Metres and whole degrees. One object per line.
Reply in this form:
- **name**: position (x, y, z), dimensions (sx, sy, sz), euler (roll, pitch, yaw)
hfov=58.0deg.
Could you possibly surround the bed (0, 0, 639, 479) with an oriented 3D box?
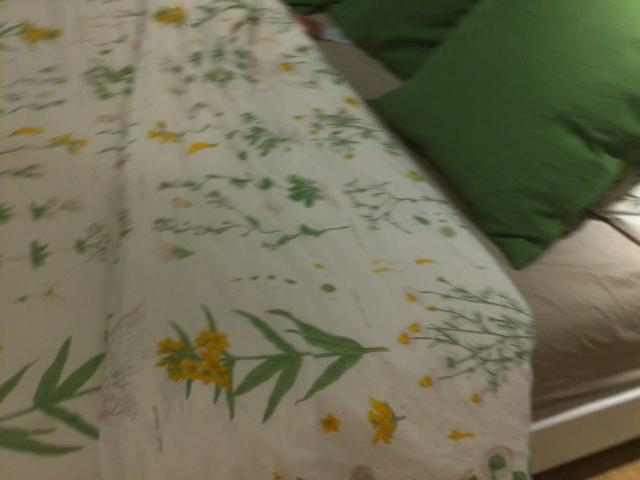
- **bed**: position (-0.340, -0.200, 1.200), dimensions (2.190, 1.150, 1.740), euler (-11, 47, -17)
